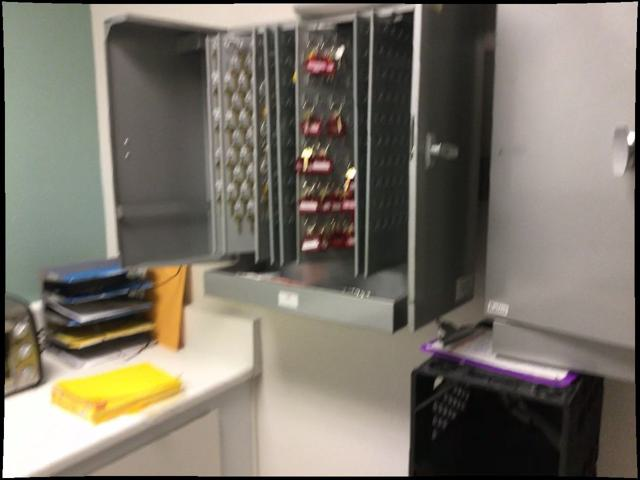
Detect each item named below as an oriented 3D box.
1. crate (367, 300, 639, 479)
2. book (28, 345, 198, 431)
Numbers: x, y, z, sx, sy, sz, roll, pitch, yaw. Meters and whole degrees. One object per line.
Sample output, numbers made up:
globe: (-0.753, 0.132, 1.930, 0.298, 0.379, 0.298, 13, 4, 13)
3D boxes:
crate: (0.420, 0.691, 1.250, 0.420, 0.961, 0.530, 6, 13, 34)
book: (-0.589, 0.410, 1.670, 0.300, 0.050, 0.350, 6, 13, 34)
